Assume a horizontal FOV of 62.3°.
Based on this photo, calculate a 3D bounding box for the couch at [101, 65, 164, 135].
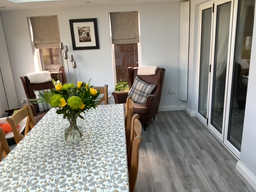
[{"bbox_3d":[0.140,0.000,3.910,0.800,1.000,0.940,6,18,26],"label":"couch"}]

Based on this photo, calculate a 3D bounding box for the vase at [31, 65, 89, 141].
[{"bbox_3d":[-0.530,0.050,1.750,0.320,0.550,0.290,-2,16,1],"label":"vase"}]

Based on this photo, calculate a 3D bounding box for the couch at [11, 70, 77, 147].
[{"bbox_3d":[-1.510,0.130,3.760,0.790,0.970,1.060,-12,19,-29],"label":"couch"}]

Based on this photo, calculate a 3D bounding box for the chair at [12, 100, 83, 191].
[{"bbox_3d":[-0.780,0.570,2.210,0.460,0.930,0.460,-3,16,-3],"label":"chair"}]
